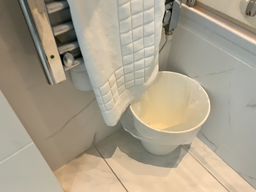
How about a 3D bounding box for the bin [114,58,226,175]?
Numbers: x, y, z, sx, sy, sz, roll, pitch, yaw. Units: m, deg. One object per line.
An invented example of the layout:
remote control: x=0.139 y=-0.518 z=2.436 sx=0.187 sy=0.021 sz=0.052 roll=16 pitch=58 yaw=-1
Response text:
bin: x=0.140 y=0.070 z=0.830 sx=0.260 sy=0.240 sz=0.290 roll=-31 pitch=56 yaw=-25
